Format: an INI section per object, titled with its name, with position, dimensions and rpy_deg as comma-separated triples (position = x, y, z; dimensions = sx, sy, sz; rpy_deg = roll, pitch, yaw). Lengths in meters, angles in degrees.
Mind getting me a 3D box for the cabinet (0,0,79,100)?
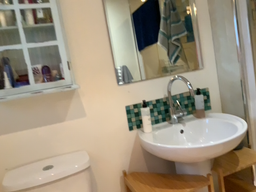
[cabinet]
position = -0.480, -0.310, 0.970
dimensions = 0.380, 0.600, 0.140
rpy_deg = -12, 7, -20
